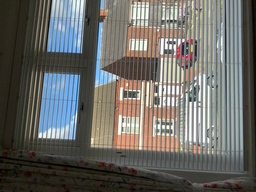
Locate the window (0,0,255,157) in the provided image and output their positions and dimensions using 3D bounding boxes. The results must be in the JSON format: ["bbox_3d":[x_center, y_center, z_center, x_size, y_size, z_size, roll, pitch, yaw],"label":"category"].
[{"bbox_3d":[0.010,-0.300,1.630,0.210,1.770,1.370,87,-174,-79],"label":"window"}]
